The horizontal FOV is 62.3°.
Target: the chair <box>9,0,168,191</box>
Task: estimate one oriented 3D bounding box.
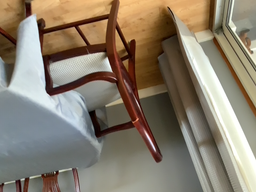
[{"bbox_3d":[-0.180,-0.070,1.190,0.500,0.960,0.500,-17,144,10],"label":"chair"}]

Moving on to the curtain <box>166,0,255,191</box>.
[{"bbox_3d":[0.600,0.220,1.090,0.270,2.100,0.400,-14,145,6],"label":"curtain"}]

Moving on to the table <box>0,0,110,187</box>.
[{"bbox_3d":[-1.060,0.110,1.410,1.580,0.750,0.950,-16,145,9],"label":"table"}]
